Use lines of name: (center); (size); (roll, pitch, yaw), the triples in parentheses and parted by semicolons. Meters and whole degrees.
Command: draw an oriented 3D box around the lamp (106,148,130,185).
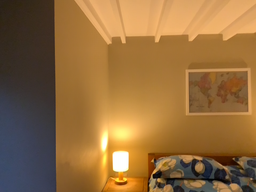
lamp: (-0.100, 0.770, 2.360); (0.230, 0.310, 0.320); (0, 0, 4)
